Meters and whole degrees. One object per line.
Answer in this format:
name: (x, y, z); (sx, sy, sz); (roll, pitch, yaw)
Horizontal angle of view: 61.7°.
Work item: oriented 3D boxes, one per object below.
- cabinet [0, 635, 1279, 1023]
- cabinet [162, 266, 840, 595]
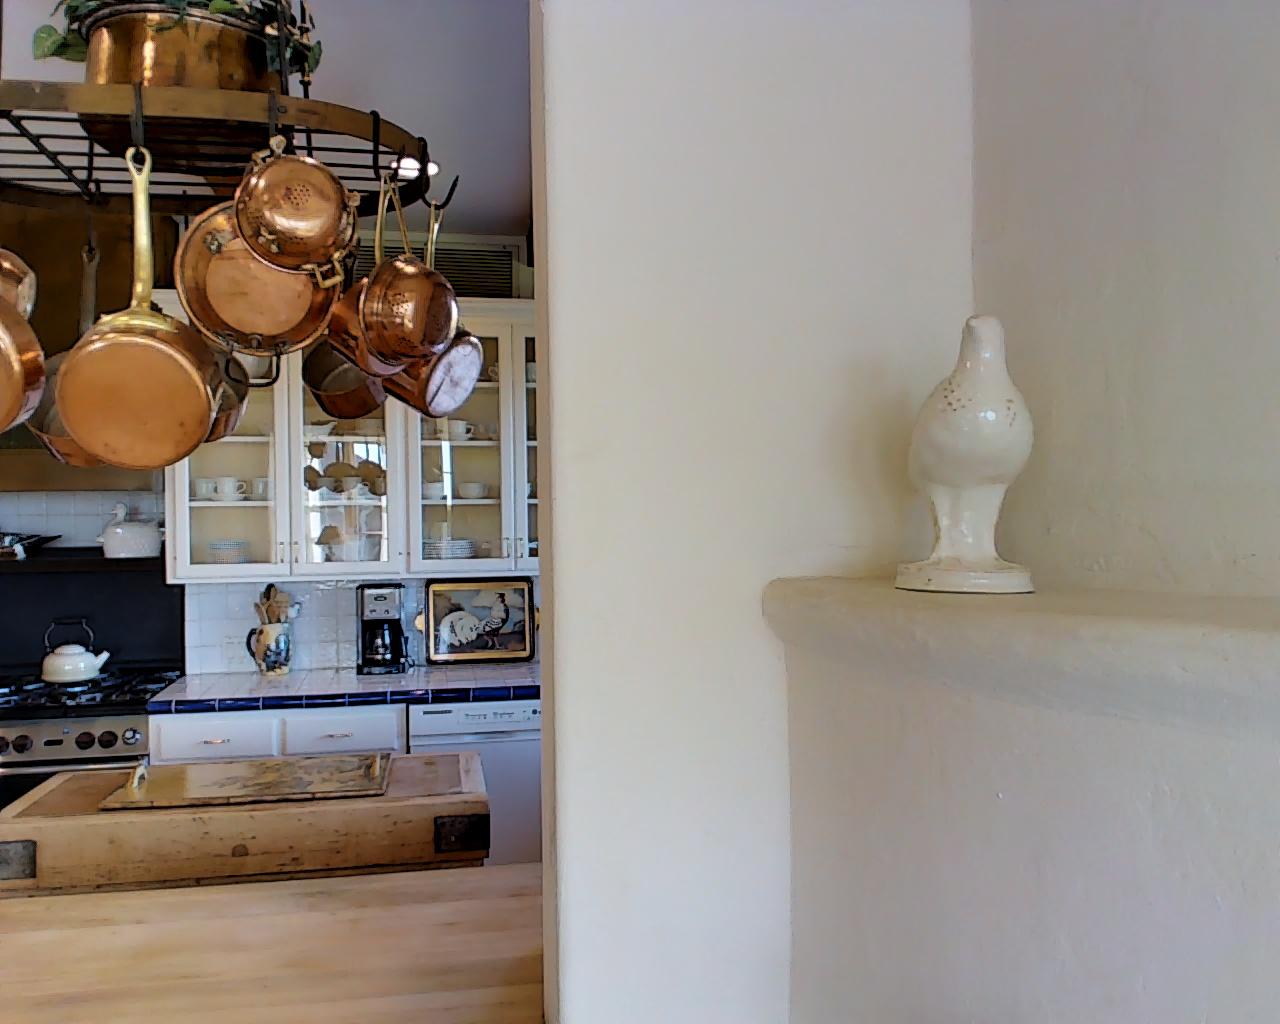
cabinet: (-0.250, 1.100, 3.060); (3.789, 0.970, 3.590); (-1, 0, -10)
cabinet: (-0.530, -0.330, 4.600); (2.749, 1.280, 0.400); (-1, 0, -10)
